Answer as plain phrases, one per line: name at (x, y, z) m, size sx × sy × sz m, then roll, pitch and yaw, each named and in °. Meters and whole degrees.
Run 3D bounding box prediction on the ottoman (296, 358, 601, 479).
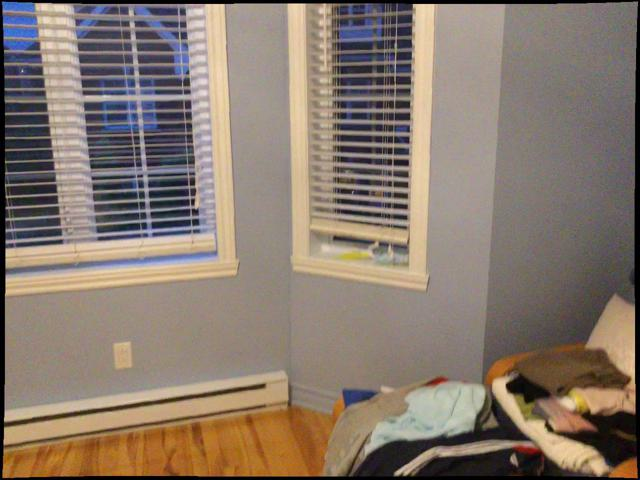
ottoman at (0.330, 0.761, 1.800) m, size 0.649 × 0.410 × 0.720 m, roll -6°, pitch 17°, yaw -14°
